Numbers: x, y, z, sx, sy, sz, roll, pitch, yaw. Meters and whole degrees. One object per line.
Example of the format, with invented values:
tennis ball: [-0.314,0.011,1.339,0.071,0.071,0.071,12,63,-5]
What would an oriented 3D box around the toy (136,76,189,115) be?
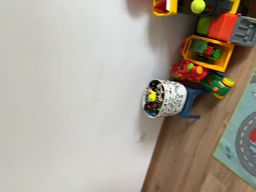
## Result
toy: [0.230,0.000,1.430,0.240,0.230,0.230,-8,86,52]
